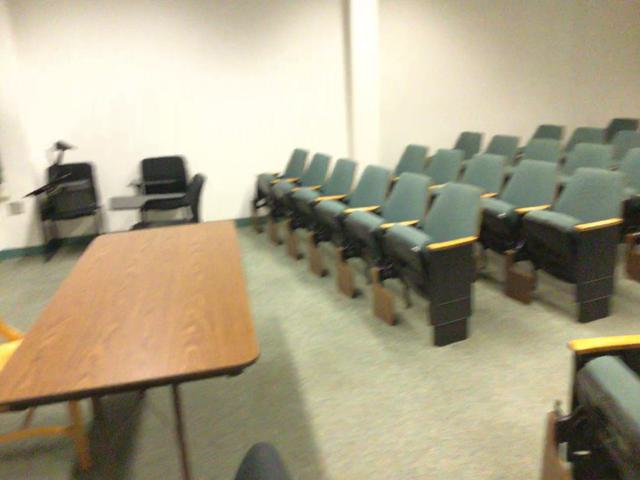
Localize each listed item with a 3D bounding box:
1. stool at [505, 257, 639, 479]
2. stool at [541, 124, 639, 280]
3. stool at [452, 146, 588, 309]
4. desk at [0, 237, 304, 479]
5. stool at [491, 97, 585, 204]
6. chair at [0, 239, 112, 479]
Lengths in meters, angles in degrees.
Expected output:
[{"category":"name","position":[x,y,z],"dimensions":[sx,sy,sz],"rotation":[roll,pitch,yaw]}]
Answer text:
[{"category":"stool","position":[0.960,0.450,1.650],"dimensions":[0.580,0.620,0.700],"rotation":[-7,12,-3]},{"category":"stool","position":[1.960,-0.290,3.810],"dimensions":[0.640,0.870,0.670],"rotation":[-13,14,-28]},{"category":"stool","position":[1.190,-0.110,3.460],"dimensions":[0.500,0.840,0.550],"rotation":[-11,13,-22]},{"category":"desk","position":[-0.610,0.510,2.150],"dimensions":[0.810,0.720,1.220],"rotation":[-9,13,-13]},{"category":"stool","position":[2.000,-0.830,5.320],"dimensions":[0.570,0.870,0.560],"rotation":[-9,13,-14]},{"category":"chair","position":[-1.200,0.500,2.200],"dimensions":[0.590,0.860,0.460],"rotation":[-9,13,-13]}]
